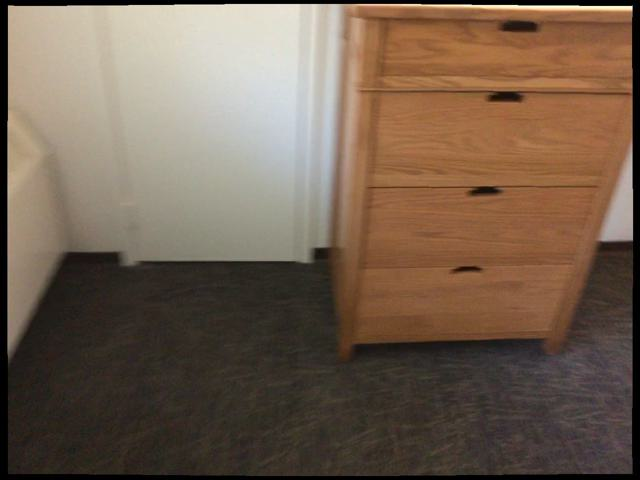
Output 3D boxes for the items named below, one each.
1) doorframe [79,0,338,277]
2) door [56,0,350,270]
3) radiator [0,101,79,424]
[{"bbox_3d":[-0.339,-0.451,1.920,0.759,1.382,0.070,0,34,-4],"label":"doorframe"},{"bbox_3d":[-0.349,-0.461,1.900,0.848,1.322,0.100,0,34,-4],"label":"door"},{"bbox_3d":[-0.968,0.080,1.650,0.160,0.641,0.931,0,34,-4],"label":"radiator"}]
